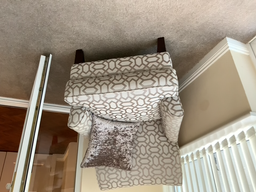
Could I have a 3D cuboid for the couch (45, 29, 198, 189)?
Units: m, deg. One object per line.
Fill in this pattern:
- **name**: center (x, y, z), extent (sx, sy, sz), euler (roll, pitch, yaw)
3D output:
- **couch**: center (0.000, 0.180, 1.680), extent (0.790, 0.900, 0.890), euler (-6, 151, 6)
